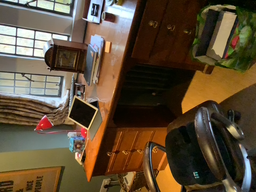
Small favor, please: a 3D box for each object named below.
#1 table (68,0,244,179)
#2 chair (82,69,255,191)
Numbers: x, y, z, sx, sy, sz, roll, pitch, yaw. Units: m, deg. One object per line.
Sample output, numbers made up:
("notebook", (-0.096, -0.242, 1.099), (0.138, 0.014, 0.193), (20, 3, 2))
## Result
("table", (0.060, -0.230, 2.000), (0.930, 0.840, 1.640), (51, 132, 50))
("chair", (0.370, 0.370, 1.180), (0.640, 1.030, 0.720), (-42, 52, 53))
